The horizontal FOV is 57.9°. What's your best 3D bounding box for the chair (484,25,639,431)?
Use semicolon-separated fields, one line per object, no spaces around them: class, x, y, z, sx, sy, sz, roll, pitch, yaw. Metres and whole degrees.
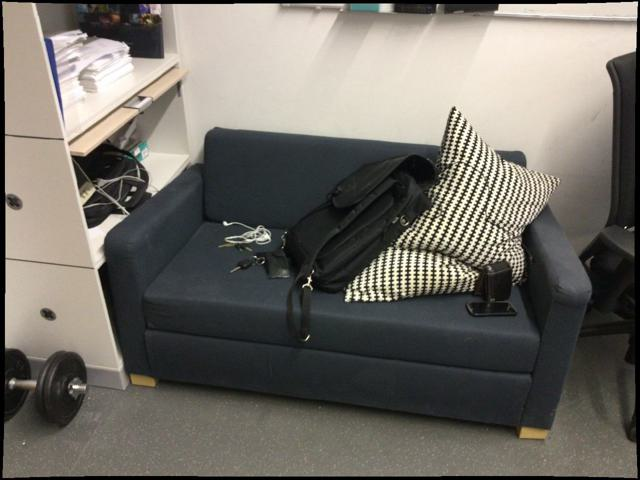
chair;1.109;-0.030;1.780;0.610;1.011;0.820;-20;38;-29

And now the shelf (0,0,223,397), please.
shelf;-0.769;-0.671;1.710;0.519;2.182;0.900;6;33;8
